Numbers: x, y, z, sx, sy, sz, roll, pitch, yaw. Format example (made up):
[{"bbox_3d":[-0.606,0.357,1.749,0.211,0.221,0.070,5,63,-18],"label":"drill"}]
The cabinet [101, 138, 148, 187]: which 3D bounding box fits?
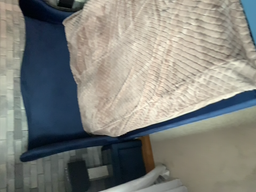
[{"bbox_3d":[-0.060,0.810,2.610,0.410,0.370,0.480,-33,62,57],"label":"cabinet"}]
